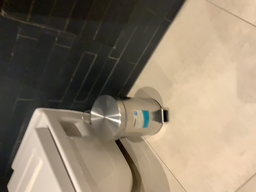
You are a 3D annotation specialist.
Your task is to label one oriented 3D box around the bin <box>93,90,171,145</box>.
[{"bbox_3d":[0.020,0.080,0.830,0.140,0.240,0.130,50,120,34],"label":"bin"}]
